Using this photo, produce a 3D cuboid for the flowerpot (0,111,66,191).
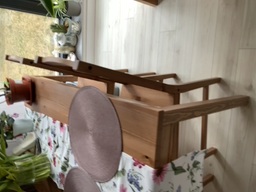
[{"bbox_3d":[-0.660,0.350,1.170,0.500,0.410,0.350,22,110,44],"label":"flowerpot"}]
